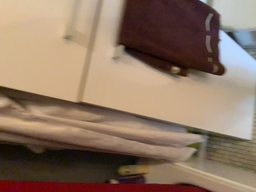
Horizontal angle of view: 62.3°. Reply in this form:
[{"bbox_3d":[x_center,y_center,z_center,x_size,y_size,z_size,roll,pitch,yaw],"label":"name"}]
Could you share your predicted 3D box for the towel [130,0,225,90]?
[{"bbox_3d":[0.220,-0.200,0.780,0.040,0.500,0.250,0,78,48],"label":"towel"}]
